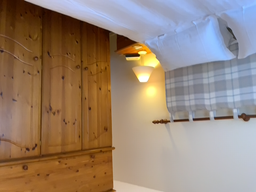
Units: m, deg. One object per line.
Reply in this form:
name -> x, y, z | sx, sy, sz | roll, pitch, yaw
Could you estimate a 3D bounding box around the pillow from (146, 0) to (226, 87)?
pillow -> 0.530, -0.500, 2.050 | 0.190, 0.410, 0.690 | 7, 120, -46
